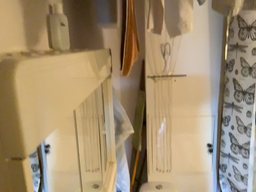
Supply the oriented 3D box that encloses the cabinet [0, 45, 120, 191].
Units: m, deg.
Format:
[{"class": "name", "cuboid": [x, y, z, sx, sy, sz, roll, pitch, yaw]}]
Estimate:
[{"class": "cabinet", "cuboid": [-0.130, 0.130, 0.520, 0.150, 0.480, 0.650, -2, 14, 2]}]
